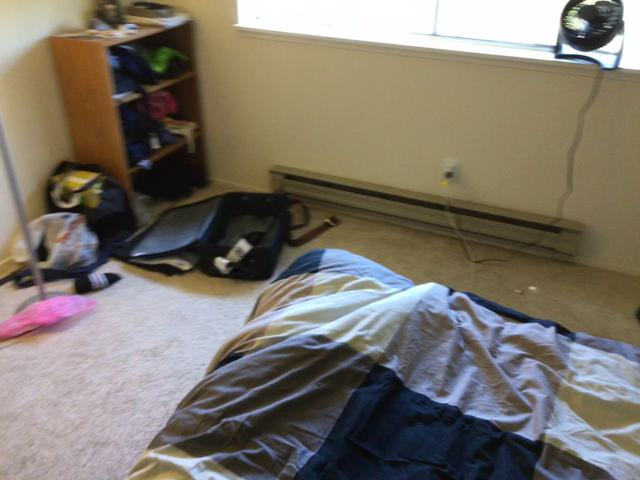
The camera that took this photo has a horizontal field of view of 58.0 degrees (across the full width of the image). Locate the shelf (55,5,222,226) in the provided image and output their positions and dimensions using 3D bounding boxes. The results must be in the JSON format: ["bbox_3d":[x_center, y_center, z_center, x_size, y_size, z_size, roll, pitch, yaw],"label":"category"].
[{"bbox_3d":[-0.840,-0.630,2.860,0.350,0.890,0.620,13,33,20],"label":"shelf"}]

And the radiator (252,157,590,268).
[{"bbox_3d":[0.410,-0.160,2.810,1.630,0.200,0.100,13,33,20],"label":"radiator"}]
